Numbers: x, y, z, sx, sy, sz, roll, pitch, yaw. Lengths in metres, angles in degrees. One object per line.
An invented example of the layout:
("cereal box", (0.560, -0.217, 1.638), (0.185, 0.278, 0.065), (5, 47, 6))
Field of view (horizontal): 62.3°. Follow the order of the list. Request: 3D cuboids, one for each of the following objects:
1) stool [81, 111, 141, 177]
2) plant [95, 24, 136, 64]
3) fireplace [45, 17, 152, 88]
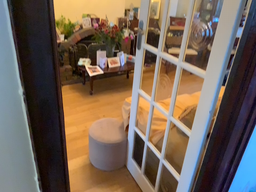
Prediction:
("stool", (-0.180, 0.440, 2.070), (0.430, 0.350, 0.420), (-10, 31, -25))
("plant", (-0.220, -0.870, 3.470), (0.520, 0.520, 0.390), (-12, 32, -28))
("fireplace", (-0.490, -0.860, 3.850), (1.700, 0.980, 0.630), (-13, 32, -29))
